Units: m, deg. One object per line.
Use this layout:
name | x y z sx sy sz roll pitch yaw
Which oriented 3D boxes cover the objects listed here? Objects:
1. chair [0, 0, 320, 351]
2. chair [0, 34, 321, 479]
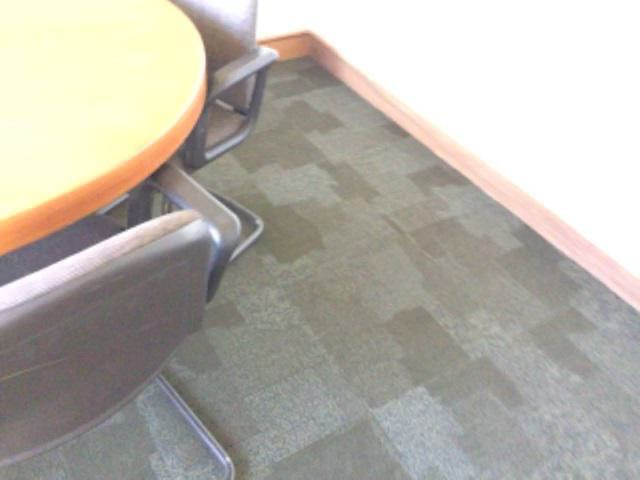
chair | -0.450 -0.320 1.570 0.640 0.860 0.650 20 43 16
chair | -0.470 0.210 1.020 0.650 0.840 0.620 -19 47 -26
